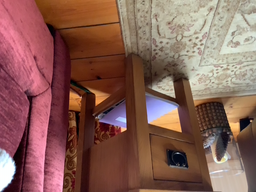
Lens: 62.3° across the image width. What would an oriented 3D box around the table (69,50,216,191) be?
[{"bbox_3d":[0.020,0.170,0.850,0.350,0.470,0.390,17,144,-33],"label":"table"}]
